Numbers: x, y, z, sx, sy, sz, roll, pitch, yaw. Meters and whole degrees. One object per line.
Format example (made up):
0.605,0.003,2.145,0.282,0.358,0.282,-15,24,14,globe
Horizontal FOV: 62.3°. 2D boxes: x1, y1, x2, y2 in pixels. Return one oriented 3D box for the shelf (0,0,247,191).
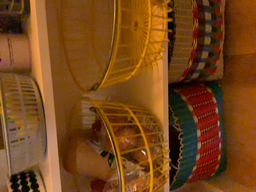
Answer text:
-0.450,-0.540,0.330,0.290,1.800,1.950,11,105,57,shelf
